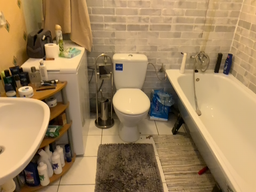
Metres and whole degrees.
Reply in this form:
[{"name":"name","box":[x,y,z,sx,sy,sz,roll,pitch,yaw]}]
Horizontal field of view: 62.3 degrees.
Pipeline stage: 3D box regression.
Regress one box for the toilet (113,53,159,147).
[{"name":"toilet","box":[0.040,0.020,2.140,0.360,0.710,0.640,1,29,-4]}]

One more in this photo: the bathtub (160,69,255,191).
[{"name":"bathtub","box":[0.790,0.350,1.770,0.680,0.550,1.670,1,29,-4]}]
